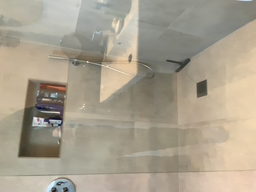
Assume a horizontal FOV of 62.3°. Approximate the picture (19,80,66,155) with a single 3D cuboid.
[{"bbox_3d":[-0.660,0.170,1.670,0.050,0.280,0.570,149,125,-66],"label":"picture"}]
